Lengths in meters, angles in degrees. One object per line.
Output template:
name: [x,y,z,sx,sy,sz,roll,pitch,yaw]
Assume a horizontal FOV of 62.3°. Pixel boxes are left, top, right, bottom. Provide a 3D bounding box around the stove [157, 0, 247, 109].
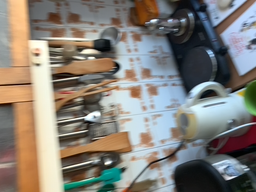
stove: [0.320,-0.220,1.030,0.290,0.090,0.480,-50,50,56]
